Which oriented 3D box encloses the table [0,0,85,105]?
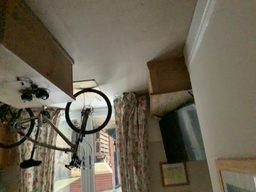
[{"bbox_3d":[-0.810,-0.310,1.630,0.590,0.450,1.070,-8,163,7],"label":"table"}]

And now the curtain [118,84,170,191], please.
[{"bbox_3d":[0.280,1.190,3.090,0.590,2.740,0.290,-8,163,6],"label":"curtain"}]

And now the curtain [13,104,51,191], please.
[{"bbox_3d":[-1.450,1.440,3.200,0.460,2.610,0.250,-8,163,7],"label":"curtain"}]
